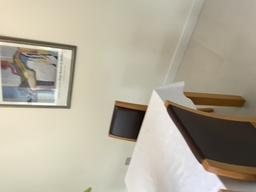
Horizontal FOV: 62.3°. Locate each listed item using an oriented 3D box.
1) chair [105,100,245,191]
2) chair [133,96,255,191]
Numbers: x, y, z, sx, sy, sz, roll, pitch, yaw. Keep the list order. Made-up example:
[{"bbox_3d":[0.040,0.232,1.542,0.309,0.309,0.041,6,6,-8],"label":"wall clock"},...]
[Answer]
[{"bbox_3d":[0.330,0.370,1.730,0.570,0.870,0.400,-118,37,-53],"label":"chair"},{"bbox_3d":[0.560,0.350,1.110,0.400,0.890,0.520,-114,34,-49],"label":"chair"}]
